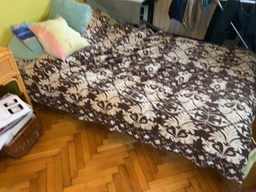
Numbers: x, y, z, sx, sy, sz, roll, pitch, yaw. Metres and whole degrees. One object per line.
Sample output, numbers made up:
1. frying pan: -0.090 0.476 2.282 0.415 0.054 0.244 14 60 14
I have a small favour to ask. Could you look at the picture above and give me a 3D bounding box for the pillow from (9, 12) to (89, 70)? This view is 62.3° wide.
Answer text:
1. pillow: -0.700 -0.530 1.960 0.450 0.260 0.470 21 44 21
